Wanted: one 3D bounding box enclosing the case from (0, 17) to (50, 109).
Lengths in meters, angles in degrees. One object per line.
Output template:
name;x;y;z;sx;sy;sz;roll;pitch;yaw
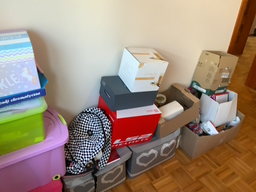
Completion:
case;-0.630;-0.140;0.930;0.450;0.290;0.310;-15;38;-24

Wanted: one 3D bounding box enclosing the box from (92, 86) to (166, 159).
box;0.000;0.170;1.500;0.430;0.320;0.240;-16;38;-25

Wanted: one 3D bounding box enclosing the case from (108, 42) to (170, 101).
case;0.060;-0.170;1.380;0.300;0.250;0.240;-17;38;-25

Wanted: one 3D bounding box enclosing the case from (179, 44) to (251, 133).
case;0.770;-0.060;1.980;0.390;0.740;0.260;-13;37;-21
